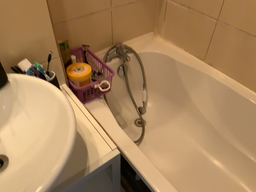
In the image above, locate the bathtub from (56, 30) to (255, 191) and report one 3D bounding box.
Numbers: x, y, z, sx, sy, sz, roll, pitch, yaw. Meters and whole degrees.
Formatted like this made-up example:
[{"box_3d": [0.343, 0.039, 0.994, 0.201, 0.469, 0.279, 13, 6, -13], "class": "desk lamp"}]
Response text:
[{"box_3d": [0.310, 0.310, 1.050, 0.670, 0.570, 1.380, -27, 52, -26], "class": "bathtub"}]
